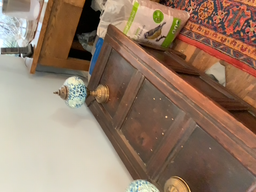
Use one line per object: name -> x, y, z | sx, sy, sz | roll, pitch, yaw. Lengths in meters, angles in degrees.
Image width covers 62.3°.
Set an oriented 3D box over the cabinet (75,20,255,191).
cabinet -> 0.260, 0.120, 1.100 | 1.060, 0.580, 0.510 | 48, 121, 39
